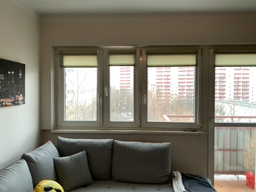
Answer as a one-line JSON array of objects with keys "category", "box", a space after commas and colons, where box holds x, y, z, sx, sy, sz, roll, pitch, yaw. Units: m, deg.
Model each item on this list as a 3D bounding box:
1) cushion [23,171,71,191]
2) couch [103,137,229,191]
[{"category": "cushion", "box": [-0.750, 0.890, 2.010, 0.300, 0.220, 0.350, 1, 2, 7]}, {"category": "couch", "box": [0.350, 1.000, 2.360, 1.110, 0.870, 0.920, 1, 2, 3]}]
